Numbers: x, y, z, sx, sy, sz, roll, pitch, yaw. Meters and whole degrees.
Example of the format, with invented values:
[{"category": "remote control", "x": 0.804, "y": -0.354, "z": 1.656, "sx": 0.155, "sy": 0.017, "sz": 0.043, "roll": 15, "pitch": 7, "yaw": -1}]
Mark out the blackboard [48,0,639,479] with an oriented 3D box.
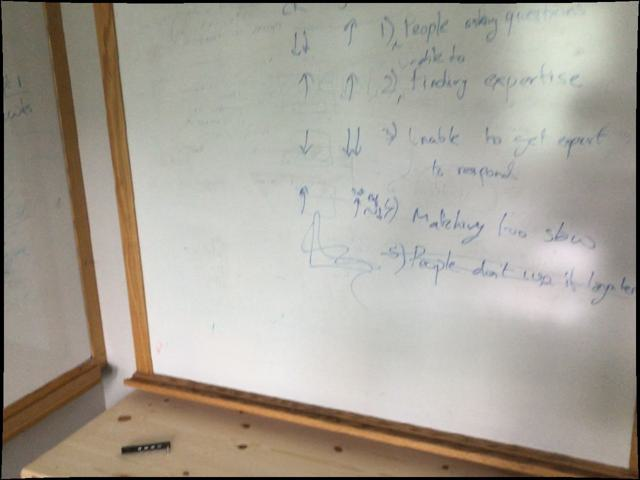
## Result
[{"category": "blackboard", "x": 0.050, "y": -0.170, "z": 1.140, "sx": 1.267, "sy": 1.243, "sz": 0.160, "roll": 6, "pitch": 19, "yaw": 22}]
